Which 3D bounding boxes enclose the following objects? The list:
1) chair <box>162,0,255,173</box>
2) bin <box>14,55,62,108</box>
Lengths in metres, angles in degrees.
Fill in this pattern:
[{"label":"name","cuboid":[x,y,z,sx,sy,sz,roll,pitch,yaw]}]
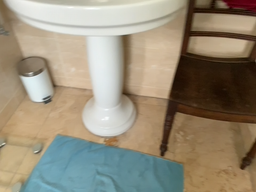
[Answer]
[{"label":"chair","cuboid":[0.450,-0.080,1.020,0.430,0.810,0.470,9,45,8]},{"label":"bin","cuboid":[-0.590,-0.100,1.430,0.150,0.250,0.220,12,46,11]}]
